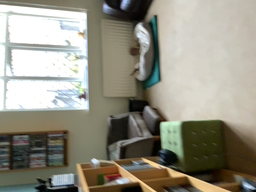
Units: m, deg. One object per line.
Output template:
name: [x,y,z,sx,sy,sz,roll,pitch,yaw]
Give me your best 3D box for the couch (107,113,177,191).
couch: [0.120,0.720,2.760,0.690,0.630,0.700,-116,29,-56]
